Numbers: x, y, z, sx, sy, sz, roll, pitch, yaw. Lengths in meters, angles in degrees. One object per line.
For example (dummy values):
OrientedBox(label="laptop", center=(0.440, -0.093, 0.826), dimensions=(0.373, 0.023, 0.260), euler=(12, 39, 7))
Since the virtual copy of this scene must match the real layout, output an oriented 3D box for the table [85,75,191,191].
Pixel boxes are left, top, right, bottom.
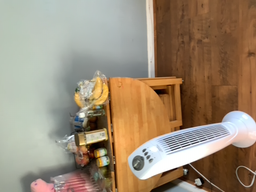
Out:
OrientedBox(label="table", center=(0.100, 0.310, 1.670), dimensions=(0.360, 0.720, 0.910), euler=(1, 96, 54))
